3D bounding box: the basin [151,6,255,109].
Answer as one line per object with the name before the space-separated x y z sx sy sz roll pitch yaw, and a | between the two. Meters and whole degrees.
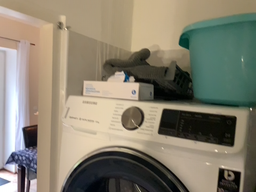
basin | 0.400 -0.120 0.890 0.400 0.290 0.540 4 3 31
